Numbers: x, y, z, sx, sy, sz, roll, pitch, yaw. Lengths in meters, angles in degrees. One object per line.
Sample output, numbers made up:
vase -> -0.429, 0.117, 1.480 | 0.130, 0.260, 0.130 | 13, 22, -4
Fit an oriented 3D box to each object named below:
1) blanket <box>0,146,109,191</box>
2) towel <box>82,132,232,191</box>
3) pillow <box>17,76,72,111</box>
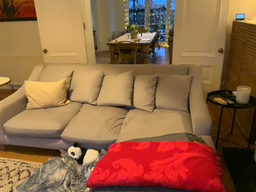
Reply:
blanket -> -0.580, 0.700, 1.670 | 0.650, 0.160, 0.690 | 5, 23, 14
towel -> 0.180, 0.480, 1.420 | 0.840, 0.200, 0.430 | 4, 22, 12
pillow -> -0.950, -0.030, 2.420 | 0.540, 0.350, 0.170 | 5, -1, 9
